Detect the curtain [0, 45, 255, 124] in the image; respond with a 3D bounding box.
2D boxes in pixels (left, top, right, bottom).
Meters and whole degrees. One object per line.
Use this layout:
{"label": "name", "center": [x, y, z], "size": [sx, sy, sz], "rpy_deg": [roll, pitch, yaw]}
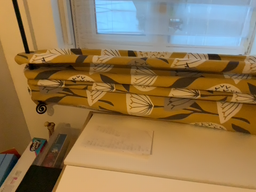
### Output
{"label": "curtain", "center": [0.170, -0.050, 0.970], "size": [0.120, 1.450, 0.270], "rpy_deg": [-77, -11, -58]}
